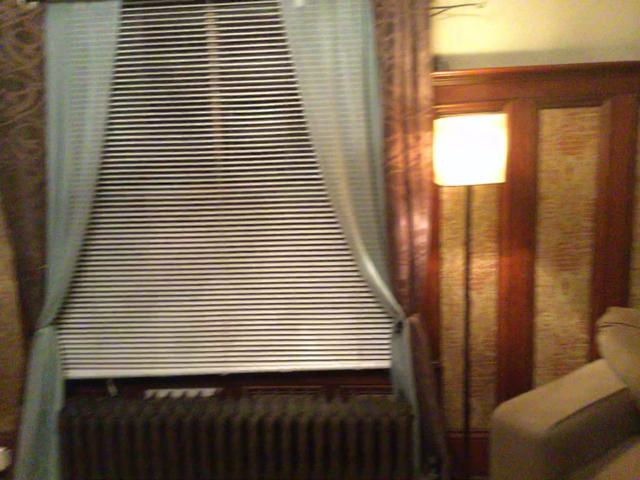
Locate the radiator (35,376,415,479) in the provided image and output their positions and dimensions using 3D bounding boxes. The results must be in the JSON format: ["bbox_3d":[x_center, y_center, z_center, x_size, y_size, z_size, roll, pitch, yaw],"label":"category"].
[{"bbox_3d":[-0.350,0.830,2.320,1.420,0.460,0.320,-1,5,4],"label":"radiator"}]

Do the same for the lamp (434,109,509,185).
[{"bbox_3d":[0.480,-0.290,1.860,0.190,0.220,0.240,-1,5,4],"label":"lamp"}]
